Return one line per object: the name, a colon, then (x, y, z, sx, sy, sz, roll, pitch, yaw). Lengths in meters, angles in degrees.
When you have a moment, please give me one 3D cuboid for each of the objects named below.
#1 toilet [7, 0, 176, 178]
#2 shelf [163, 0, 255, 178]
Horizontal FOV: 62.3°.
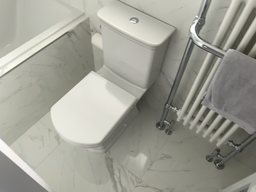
toilet: (-0.150, -0.010, 1.300, 0.420, 0.790, 0.680, 32, 59, 17)
shelf: (0.500, 0.010, 0.990, 0.410, 0.910, 0.290, 36, 60, 19)
